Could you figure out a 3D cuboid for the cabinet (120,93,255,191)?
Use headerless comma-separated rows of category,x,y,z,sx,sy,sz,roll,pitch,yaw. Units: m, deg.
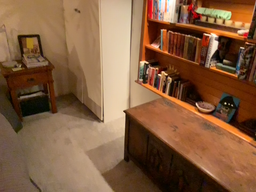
cabinet,0.450,0.520,1.670,0.470,0.610,1.130,-16,32,-32

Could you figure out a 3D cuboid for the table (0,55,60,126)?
table,-1.240,-0.100,2.680,0.510,0.670,0.500,-16,32,-32
